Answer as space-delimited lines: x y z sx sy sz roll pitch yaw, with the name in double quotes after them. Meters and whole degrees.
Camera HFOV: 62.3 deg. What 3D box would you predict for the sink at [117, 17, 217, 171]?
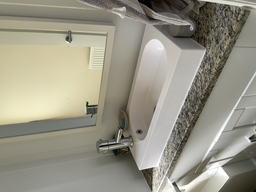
0.110 0.010 0.920 0.300 0.130 0.590 -121 35 -46 "sink"
